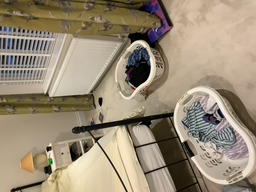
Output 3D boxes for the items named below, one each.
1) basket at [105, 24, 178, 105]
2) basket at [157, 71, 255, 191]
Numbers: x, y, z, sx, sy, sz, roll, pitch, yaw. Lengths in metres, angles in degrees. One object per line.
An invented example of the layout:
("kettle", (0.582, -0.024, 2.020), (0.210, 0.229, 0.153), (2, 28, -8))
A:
("basket", (0.090, -0.280, 2.210), (0.760, 0.240, 0.540), (-31, 67, 52))
("basket", (0.580, 0.260, 1.540), (0.580, 0.220, 0.660), (-47, 56, 46))
